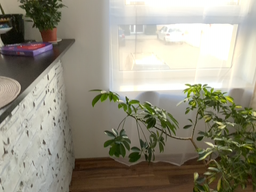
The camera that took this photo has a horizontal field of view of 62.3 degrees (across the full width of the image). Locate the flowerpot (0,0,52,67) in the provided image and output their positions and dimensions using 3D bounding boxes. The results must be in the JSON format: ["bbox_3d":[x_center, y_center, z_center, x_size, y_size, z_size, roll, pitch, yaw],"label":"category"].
[{"bbox_3d":[-0.760,-0.460,1.220,0.490,0.510,0.350,-2,24,-6],"label":"flowerpot"}]

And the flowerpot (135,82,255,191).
[{"bbox_3d":[0.450,0.420,1.290,0.700,0.820,0.630,-3,24,-8],"label":"flowerpot"}]
